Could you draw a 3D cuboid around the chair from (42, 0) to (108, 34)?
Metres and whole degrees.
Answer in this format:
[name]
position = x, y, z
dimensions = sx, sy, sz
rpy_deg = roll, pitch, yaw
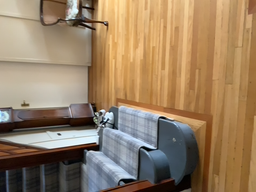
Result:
[chair]
position = -0.770, -1.280, 3.030
dimensions = 0.660, 0.750, 0.570
rpy_deg = 9, 98, 58
